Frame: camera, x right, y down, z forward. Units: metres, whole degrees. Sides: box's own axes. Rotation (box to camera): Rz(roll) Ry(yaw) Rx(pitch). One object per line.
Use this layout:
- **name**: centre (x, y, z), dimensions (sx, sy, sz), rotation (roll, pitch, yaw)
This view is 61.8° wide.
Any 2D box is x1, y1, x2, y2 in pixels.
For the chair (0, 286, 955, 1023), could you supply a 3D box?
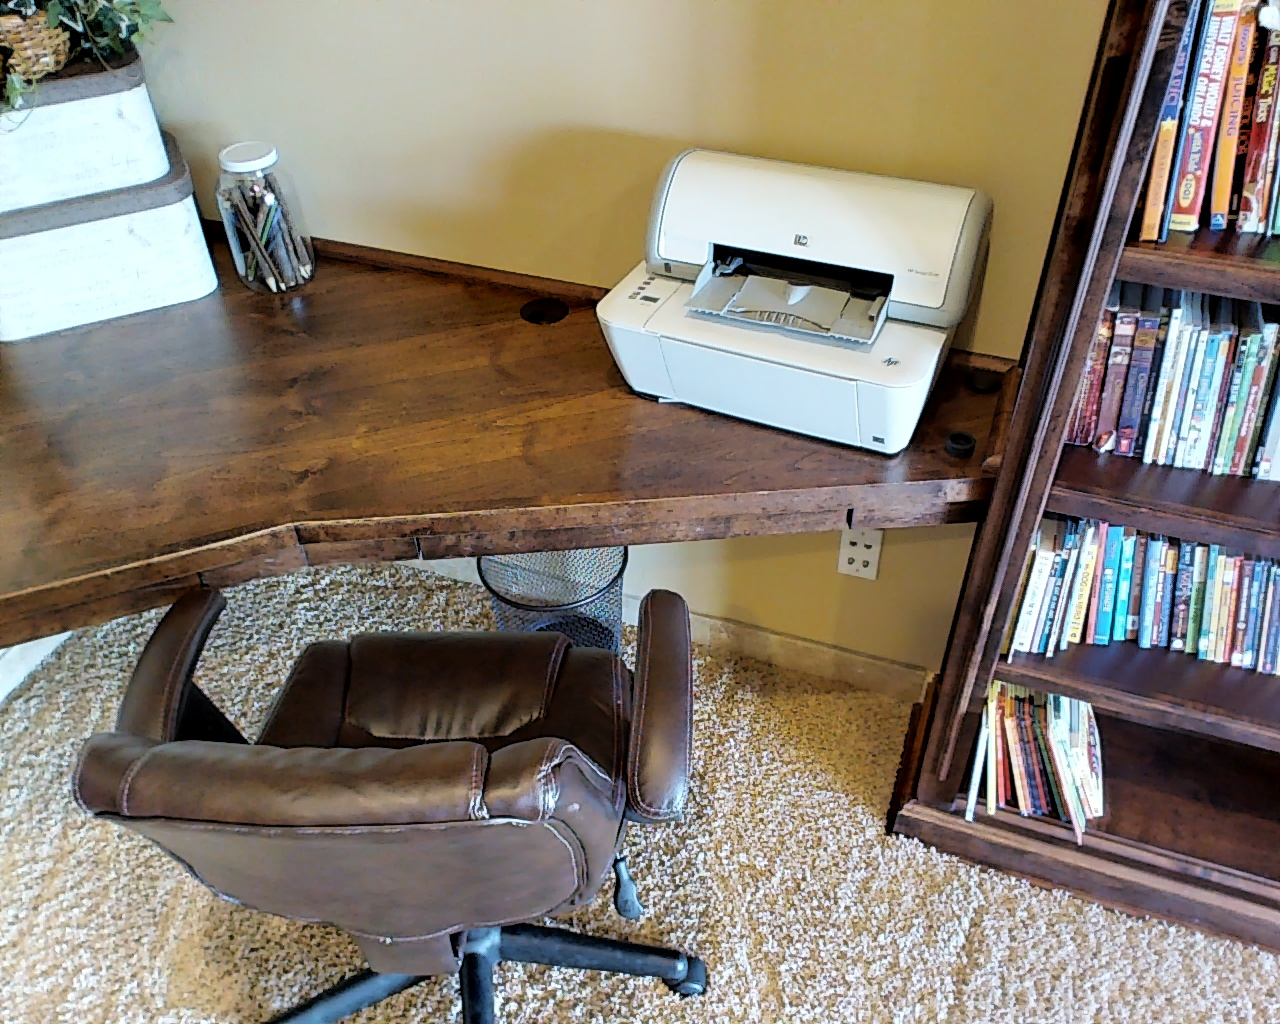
- **chair**: centre (-0.220, 0.340, 1.270), dimensions (0.770, 0.880, 0.710), rotation (-9, 41, -9)
